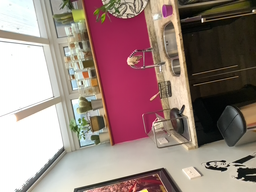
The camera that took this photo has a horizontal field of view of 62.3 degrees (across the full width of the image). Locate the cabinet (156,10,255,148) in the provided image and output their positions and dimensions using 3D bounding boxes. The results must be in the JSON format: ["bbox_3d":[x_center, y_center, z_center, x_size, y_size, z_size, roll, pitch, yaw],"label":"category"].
[{"bbox_3d":[0.910,-0.190,2.300,0.660,0.900,1.150,-147,47,-82],"label":"cabinet"}]
